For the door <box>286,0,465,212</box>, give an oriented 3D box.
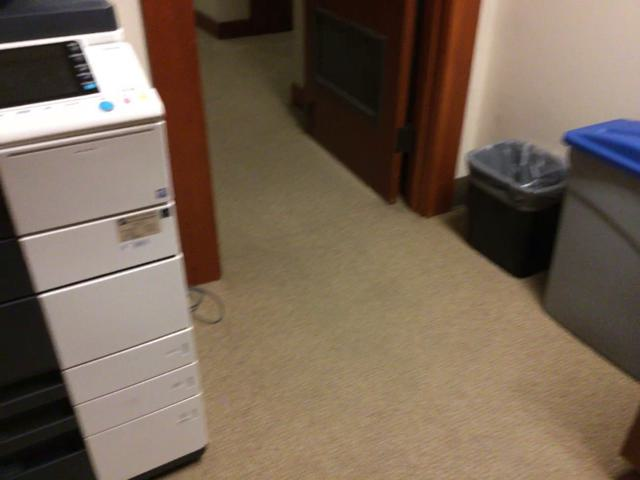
[{"bbox_3d":[0.180,-0.870,2.560,0.300,1.160,0.930,-15,37,-24],"label":"door"}]
